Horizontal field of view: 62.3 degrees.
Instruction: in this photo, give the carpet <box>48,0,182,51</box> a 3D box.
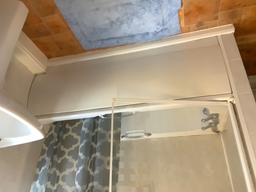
[{"bbox_3d":[-0.050,-0.540,1.470,0.820,0.030,0.490,-7,151,11],"label":"carpet"}]
